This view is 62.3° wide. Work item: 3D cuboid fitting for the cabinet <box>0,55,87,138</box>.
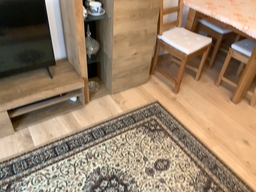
[{"bbox_3d":[-0.980,0.040,1.670,1.200,0.310,0.440,-19,46,-27],"label":"cabinet"}]
